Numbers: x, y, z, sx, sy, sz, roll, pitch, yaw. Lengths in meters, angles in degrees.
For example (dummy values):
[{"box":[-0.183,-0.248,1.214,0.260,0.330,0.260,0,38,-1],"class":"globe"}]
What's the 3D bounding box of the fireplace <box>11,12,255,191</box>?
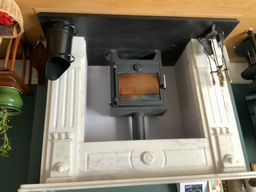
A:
[{"box":[0.120,0.090,1.980,1.790,1.300,0.870,0,159,-8],"class":"fireplace"}]
